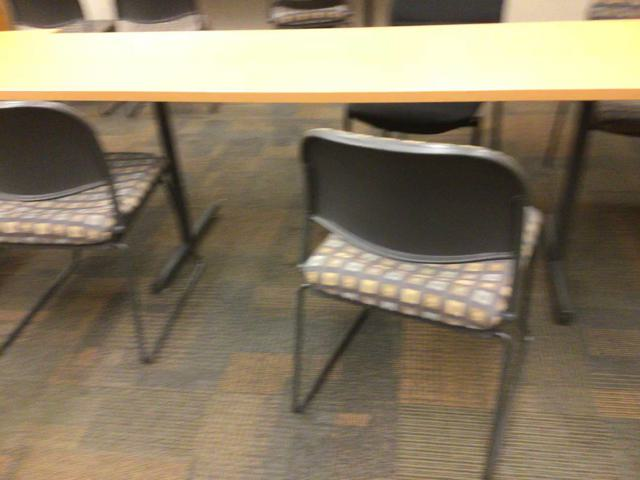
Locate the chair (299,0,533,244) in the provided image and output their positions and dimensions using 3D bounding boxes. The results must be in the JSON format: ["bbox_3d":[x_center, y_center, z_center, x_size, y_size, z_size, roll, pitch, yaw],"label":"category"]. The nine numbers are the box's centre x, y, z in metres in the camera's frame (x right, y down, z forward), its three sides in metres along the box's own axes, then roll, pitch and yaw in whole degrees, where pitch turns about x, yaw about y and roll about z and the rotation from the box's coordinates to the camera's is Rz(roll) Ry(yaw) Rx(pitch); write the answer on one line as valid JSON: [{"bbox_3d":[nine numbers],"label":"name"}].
[{"bbox_3d":[0.370,-0.540,2.080,0.620,0.770,0.700,10,33,20],"label":"chair"}]

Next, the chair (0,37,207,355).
[{"bbox_3d":[-0.720,-0.160,1.690,0.510,0.700,0.630,2,31,8],"label":"chair"}]

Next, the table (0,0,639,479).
[{"bbox_3d":[-0.260,0.700,0.250,3.940,0.870,4.540,2,31,8],"label":"table"}]
